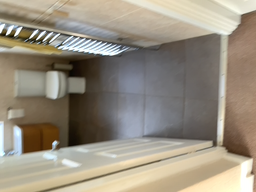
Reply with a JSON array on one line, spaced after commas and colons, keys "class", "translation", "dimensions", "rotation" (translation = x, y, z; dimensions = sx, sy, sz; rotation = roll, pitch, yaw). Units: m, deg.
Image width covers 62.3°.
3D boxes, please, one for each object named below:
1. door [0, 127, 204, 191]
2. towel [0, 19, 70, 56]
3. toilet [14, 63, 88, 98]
[{"class": "door", "translation": [-0.430, 0.360, 1.230], "dimensions": [0.750, 1.920, 0.100], "rotation": [-1, 89, 51]}, {"class": "towel", "translation": [-0.710, -0.410, 1.550], "dimensions": [0.270, 0.480, 0.140], "rotation": [3, 92, 51]}, {"class": "toilet", "translation": [-1.080, -0.200, 2.950], "dimensions": [0.680, 0.780, 0.400], "rotation": [7, 94, 51]}]
